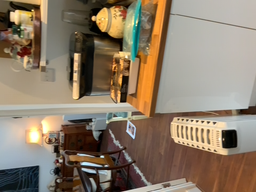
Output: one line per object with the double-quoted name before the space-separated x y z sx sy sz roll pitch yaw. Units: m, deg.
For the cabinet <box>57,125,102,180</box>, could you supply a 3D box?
"cabinet" -1.110 1.240 4.770 0.480 0.830 1.010 33 120 59
